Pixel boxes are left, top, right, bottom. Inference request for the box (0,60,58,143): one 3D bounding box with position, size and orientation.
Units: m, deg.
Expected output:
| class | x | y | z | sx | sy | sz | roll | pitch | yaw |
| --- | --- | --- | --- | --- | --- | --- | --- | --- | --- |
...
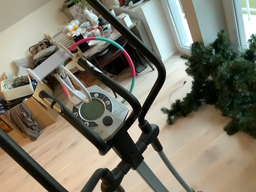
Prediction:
| class | x | y | z | sx | sy | sz | roll | pitch | yaw |
| --- | --- | --- | --- | --- | --- | --- | --- | --- | --- |
| box | -1.650 | 0.080 | 3.240 | 0.750 | 0.820 | 0.640 | -31 | 34 | 1 |
